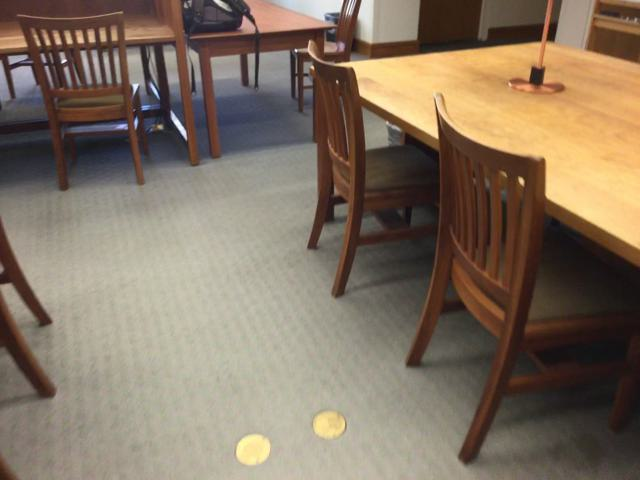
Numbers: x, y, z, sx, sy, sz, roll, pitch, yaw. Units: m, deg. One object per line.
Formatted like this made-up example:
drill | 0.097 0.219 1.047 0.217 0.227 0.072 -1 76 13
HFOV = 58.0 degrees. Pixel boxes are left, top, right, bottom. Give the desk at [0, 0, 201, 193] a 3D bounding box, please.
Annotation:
desk | -1.470 -1.160 3.250 1.290 1.400 1.010 -10 31 -20

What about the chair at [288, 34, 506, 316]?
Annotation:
chair | 0.240 -0.290 2.320 0.570 0.910 0.590 -10 31 -20

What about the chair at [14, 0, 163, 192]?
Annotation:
chair | -1.240 -0.810 3.160 0.580 0.890 0.520 -10 31 -20

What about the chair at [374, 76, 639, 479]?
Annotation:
chair | 0.600 0.080 1.640 0.620 0.900 0.600 -10 31 -20

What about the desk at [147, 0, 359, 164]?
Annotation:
desk | -0.580 -1.320 4.110 1.140 0.880 1.750 -7 30 -15
